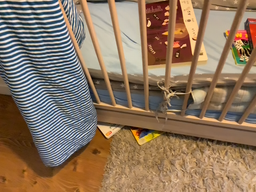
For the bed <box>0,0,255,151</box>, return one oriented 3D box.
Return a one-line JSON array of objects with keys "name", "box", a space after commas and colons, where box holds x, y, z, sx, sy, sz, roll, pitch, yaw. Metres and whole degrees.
[{"name": "bed", "box": [0.250, -0.330, 0.860, 1.260, 0.950, 0.660, 9, 58, 11]}]
